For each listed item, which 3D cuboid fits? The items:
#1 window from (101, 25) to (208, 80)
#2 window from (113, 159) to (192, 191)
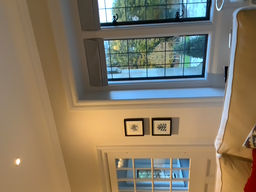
[{"bbox_3d":[0.340,-0.560,2.810,0.080,1.330,0.650,-84,-10,-65],"label":"window"},{"bbox_3d":[0.380,1.340,3.300,0.120,1.140,0.790,-83,-10,-66],"label":"window"}]
